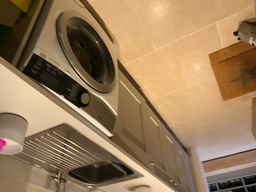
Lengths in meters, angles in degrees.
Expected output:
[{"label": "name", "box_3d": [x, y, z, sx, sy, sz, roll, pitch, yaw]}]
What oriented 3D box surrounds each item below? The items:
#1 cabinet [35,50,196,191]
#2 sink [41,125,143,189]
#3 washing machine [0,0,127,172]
[{"label": "cabinet", "box_3d": [0.120, 0.620, 2.330, 0.610, 0.890, 2.090, -21, 138, 20]}, {"label": "sink", "box_3d": [-0.240, 0.480, 1.560, 0.510, 0.180, 0.510, -21, 138, 20]}, {"label": "washing machine", "box_3d": [-0.500, -0.140, 1.350, 0.690, 0.900, 0.700, -21, 138, 20]}]
